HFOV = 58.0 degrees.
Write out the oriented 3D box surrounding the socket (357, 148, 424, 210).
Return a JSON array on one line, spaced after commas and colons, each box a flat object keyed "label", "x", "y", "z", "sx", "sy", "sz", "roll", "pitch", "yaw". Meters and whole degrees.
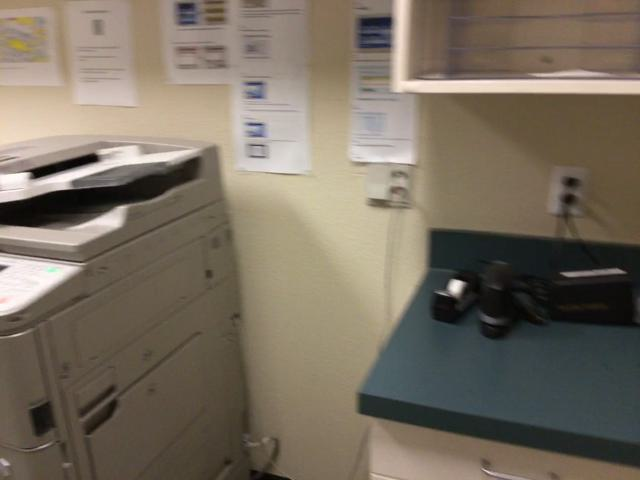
[{"label": "socket", "x": 0.170, "y": -0.150, "z": 1.410, "sx": 0.160, "sy": 0.140, "sz": 0.020, "roll": 5, "pitch": 16, "yaw": 20}]
